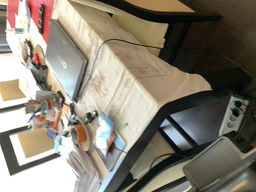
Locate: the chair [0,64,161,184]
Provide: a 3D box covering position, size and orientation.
[{"bbox_3d":[-0.350,0.140,1.600,0.390,1.070,0.560,52,134,29],"label":"chair"}]
